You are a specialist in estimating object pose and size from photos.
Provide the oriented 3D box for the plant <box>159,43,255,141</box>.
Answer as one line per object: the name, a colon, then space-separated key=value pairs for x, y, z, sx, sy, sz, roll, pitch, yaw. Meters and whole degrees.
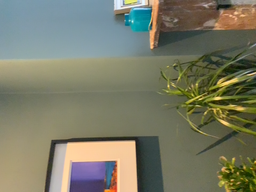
plant: x=0.850 y=0.000 z=1.160 sx=0.430 sy=1.280 sz=0.380 roll=89 pitch=180 yaw=-65

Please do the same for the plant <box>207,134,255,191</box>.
plant: x=0.620 y=0.390 z=1.020 sx=0.370 sy=0.300 sz=0.320 roll=89 pitch=180 yaw=-64
